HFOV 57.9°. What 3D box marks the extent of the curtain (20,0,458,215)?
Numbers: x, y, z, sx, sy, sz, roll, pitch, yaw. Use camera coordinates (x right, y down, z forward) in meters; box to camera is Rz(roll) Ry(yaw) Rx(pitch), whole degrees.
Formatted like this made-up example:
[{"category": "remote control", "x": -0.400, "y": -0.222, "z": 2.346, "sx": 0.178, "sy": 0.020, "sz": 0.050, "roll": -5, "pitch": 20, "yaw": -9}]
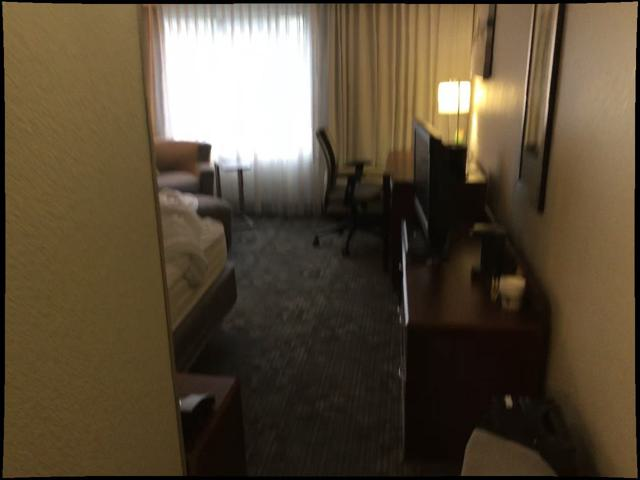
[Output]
[{"category": "curtain", "x": -0.759, "y": -1.311, "z": 5.550, "sx": 3.966, "sy": 2.122, "sz": 0.270, "roll": 1, "pitch": 19, "yaw": 7}]
